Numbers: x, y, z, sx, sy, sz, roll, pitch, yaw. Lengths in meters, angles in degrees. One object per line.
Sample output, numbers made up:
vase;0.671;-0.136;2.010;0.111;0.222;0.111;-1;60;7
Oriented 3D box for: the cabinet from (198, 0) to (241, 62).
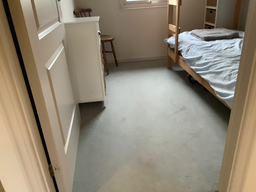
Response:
cabinet;1.300;-1.110;3.040;0.340;1.140;0.370;-4;26;-3
